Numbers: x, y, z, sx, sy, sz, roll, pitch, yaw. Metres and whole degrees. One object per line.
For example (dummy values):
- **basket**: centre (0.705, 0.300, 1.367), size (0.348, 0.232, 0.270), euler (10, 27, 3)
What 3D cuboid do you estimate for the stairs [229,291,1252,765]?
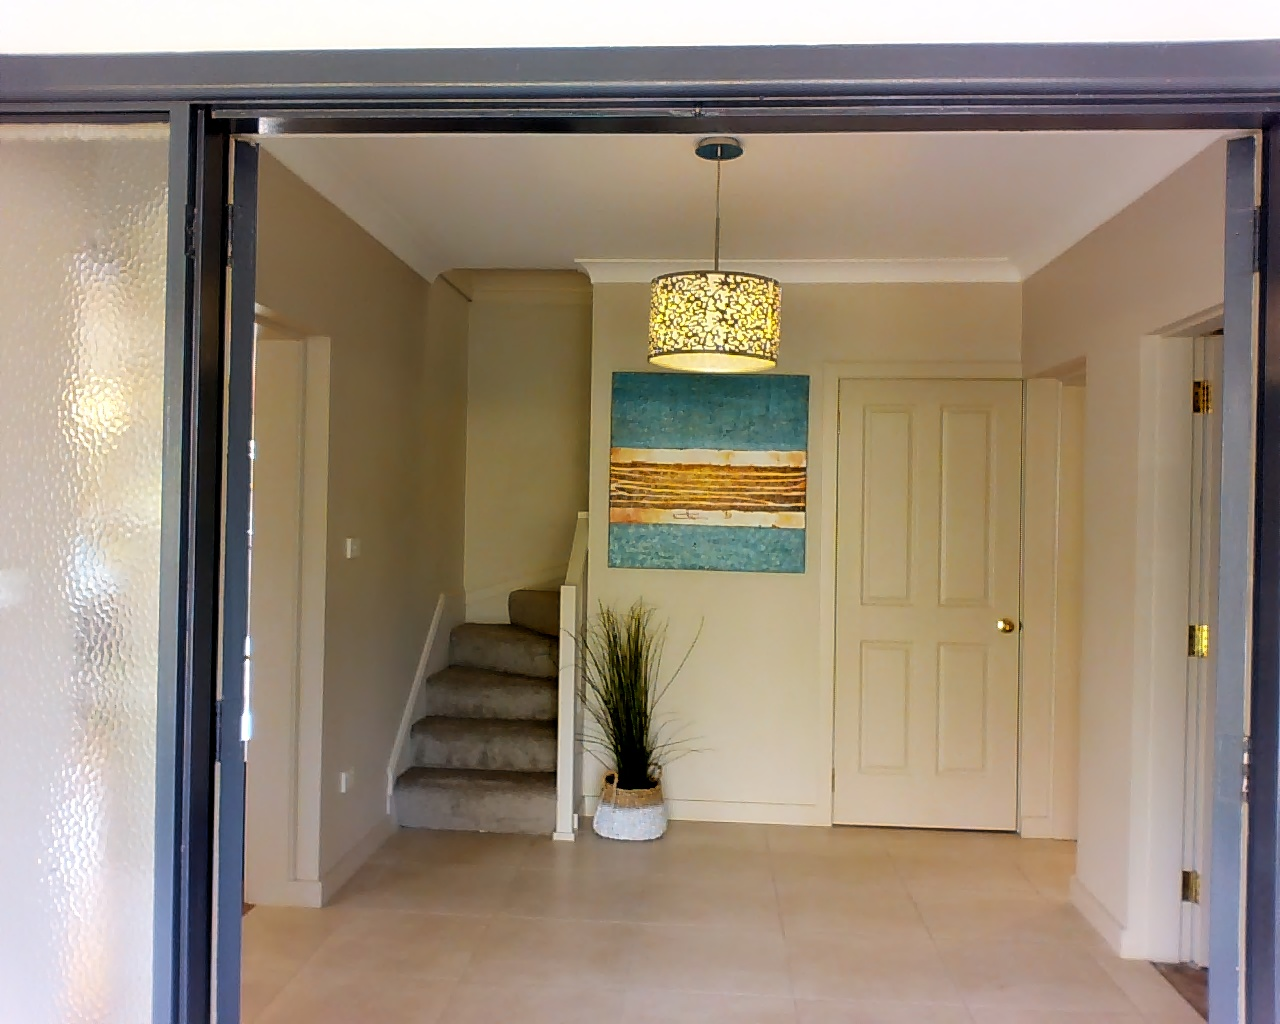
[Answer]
- **stairs**: centre (0.300, 0.020, 4.000), size (2.439, 1.090, 2.840), euler (1, 0, 4)

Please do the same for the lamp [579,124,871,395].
- **lamp**: centre (0.260, -0.760, 3.340), size (0.700, 0.500, 0.490), euler (24, 2, 4)
